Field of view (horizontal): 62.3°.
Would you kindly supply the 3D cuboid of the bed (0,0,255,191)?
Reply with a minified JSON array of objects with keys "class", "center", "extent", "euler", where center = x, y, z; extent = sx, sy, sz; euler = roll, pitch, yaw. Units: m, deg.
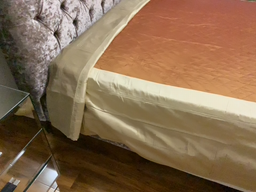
[{"class":"bed","center":[0.760,-0.190,1.480],"extent":[2.550,0.630,1.770],"euler":[15,43,16]}]
